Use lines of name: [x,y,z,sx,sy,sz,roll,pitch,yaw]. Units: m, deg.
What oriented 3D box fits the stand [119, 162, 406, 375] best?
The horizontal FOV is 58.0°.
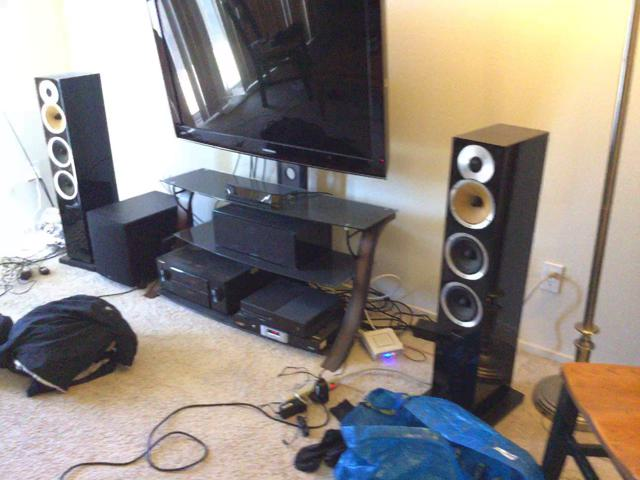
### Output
stand: [-0.290,0.050,2.630,1.210,0.620,0.510,12,20,32]
